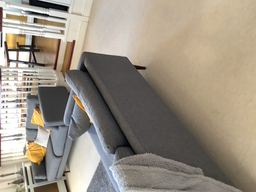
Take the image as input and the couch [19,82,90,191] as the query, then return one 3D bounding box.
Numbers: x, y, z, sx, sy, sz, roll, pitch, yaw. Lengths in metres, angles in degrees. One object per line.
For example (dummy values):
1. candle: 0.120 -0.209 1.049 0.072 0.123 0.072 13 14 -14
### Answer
1. couch: -1.510 0.790 4.080 0.970 0.830 1.910 55 134 40
